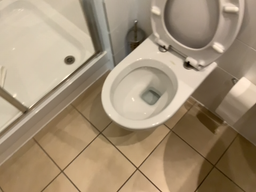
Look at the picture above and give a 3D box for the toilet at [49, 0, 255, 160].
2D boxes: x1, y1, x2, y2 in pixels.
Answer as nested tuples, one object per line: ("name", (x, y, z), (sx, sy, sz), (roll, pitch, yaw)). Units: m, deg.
("toilet", (0.110, -0.090, 0.990), (0.390, 0.860, 0.510), (41, 73, 18))
